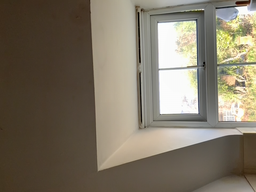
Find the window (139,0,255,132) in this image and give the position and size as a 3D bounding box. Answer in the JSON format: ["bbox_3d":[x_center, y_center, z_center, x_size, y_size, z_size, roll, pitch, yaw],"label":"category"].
[{"bbox_3d":[0.610,-0.220,1.530,0.190,1.020,0.910,-10,-82,-75],"label":"window"}]
